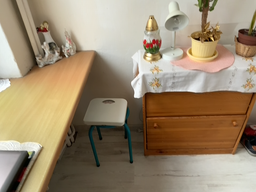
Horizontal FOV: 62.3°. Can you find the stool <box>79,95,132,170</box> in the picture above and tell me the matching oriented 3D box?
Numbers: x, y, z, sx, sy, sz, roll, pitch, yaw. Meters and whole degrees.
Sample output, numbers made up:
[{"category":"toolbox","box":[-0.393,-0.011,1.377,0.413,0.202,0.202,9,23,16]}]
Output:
[{"category":"stool","box":[-0.140,0.270,1.560,0.270,0.480,0.260,4,37,10]}]

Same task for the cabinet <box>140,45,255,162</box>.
[{"category":"cabinet","box":[0.460,0.090,1.500,0.730,0.780,0.330,-1,37,4]}]

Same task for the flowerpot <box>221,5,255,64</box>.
[{"category":"flowerpot","box":[0.660,-0.350,1.200,0.140,0.260,0.210,-1,37,4]}]

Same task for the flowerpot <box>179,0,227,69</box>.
[{"category":"flowerpot","box":[0.390,-0.490,1.100,0.160,0.670,0.210,-1,37,4]}]
